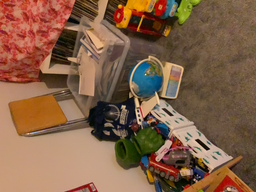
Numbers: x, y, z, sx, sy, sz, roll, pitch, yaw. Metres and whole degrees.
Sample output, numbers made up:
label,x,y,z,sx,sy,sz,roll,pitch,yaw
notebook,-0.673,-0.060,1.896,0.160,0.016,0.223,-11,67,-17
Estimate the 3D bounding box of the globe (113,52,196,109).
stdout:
label,x,y,z,sx,sy,sz,roll,pitch,yaw
globe,0.200,-0.120,1.580,0.250,0.500,0.290,46,127,38
